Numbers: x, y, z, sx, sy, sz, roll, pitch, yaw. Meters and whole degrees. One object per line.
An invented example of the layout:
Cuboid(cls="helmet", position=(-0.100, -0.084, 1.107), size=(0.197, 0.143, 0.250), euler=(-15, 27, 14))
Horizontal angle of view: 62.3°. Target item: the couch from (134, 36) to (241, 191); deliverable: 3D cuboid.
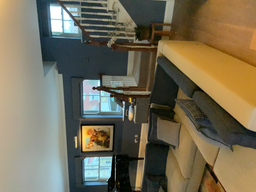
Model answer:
Cuboid(cls="couch", position=(0.670, 0.840, 3.420), size=(1.120, 0.680, 3.290), euler=(-105, 18, -63))

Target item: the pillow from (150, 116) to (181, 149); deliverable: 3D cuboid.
Cuboid(cls="pillow", position=(0.550, 0.530, 3.140), size=(0.160, 0.380, 0.340), euler=(-31, -48, -53))
